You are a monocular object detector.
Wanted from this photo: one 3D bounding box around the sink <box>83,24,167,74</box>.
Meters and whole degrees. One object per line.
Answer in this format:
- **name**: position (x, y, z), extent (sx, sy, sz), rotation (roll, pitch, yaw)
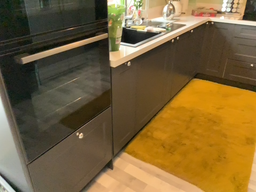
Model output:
- **sink**: position (-0.010, -0.440, 1.840), extent (0.480, 0.220, 0.550), rotation (19, 34, 28)
